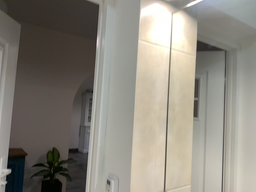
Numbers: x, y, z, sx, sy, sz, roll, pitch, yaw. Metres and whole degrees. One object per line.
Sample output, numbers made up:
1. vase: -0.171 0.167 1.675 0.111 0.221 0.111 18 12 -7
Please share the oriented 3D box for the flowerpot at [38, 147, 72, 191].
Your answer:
1. flowerpot: -1.030 1.080 2.990 0.340 0.630 0.310 6 -4 -33
